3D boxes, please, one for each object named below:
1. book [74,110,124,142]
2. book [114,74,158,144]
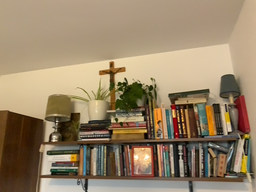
[{"bbox_3d":[-0.220,0.250,1.700,0.310,0.210,0.270,-4,-17,14],"label":"book"},{"bbox_3d":[0.070,0.110,1.650,0.300,0.490,0.240,-3,-17,10],"label":"book"}]
